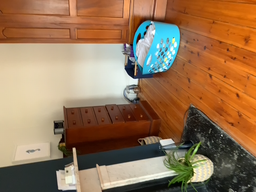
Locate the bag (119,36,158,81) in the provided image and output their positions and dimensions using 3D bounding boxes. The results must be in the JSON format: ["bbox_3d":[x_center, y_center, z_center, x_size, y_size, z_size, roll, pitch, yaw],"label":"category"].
[{"bbox_3d":[0.120,-0.530,2.910,0.510,0.330,0.470,-124,35,-57],"label":"bag"}]
